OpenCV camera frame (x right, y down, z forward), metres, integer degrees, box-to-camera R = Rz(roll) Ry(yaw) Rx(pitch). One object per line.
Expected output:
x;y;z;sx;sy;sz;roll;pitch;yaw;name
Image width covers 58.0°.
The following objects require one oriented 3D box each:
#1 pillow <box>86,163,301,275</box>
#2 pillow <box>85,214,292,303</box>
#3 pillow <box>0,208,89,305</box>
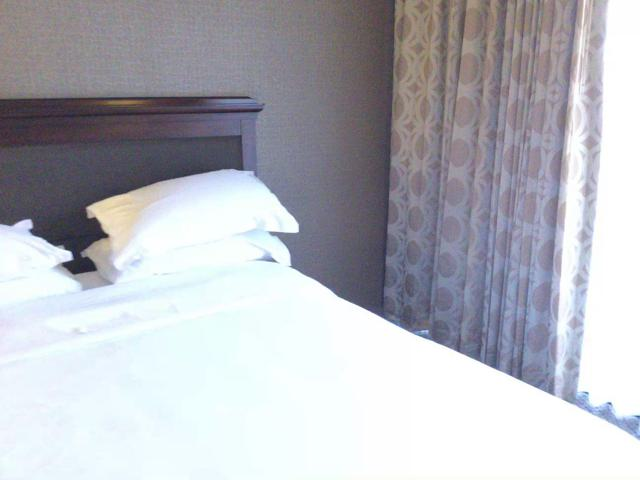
-0.510;-0.120;2.370;0.720;0.310;0.470;-10;16;-34;pillow
-0.540;0.050;2.410;0.720;0.170;0.440;-10;16;-34;pillow
-1.270;0.070;1.940;0.780;0.190;0.610;-10;16;-34;pillow
